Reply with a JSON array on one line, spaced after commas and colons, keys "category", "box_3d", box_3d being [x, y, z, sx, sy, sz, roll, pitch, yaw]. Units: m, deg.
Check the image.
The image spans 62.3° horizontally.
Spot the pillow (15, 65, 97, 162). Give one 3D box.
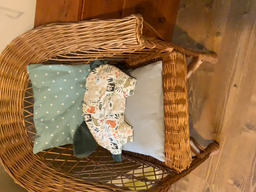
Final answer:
[{"category": "pillow", "box_3d": [-0.290, 0.060, 0.890, 0.120, 0.290, 0.340, -3, 90, 40]}]

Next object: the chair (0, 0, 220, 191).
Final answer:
[{"category": "chair", "box_3d": [-0.040, 0.050, 0.980, 0.640, 0.860, 0.610, 0, 92, 40]}]
